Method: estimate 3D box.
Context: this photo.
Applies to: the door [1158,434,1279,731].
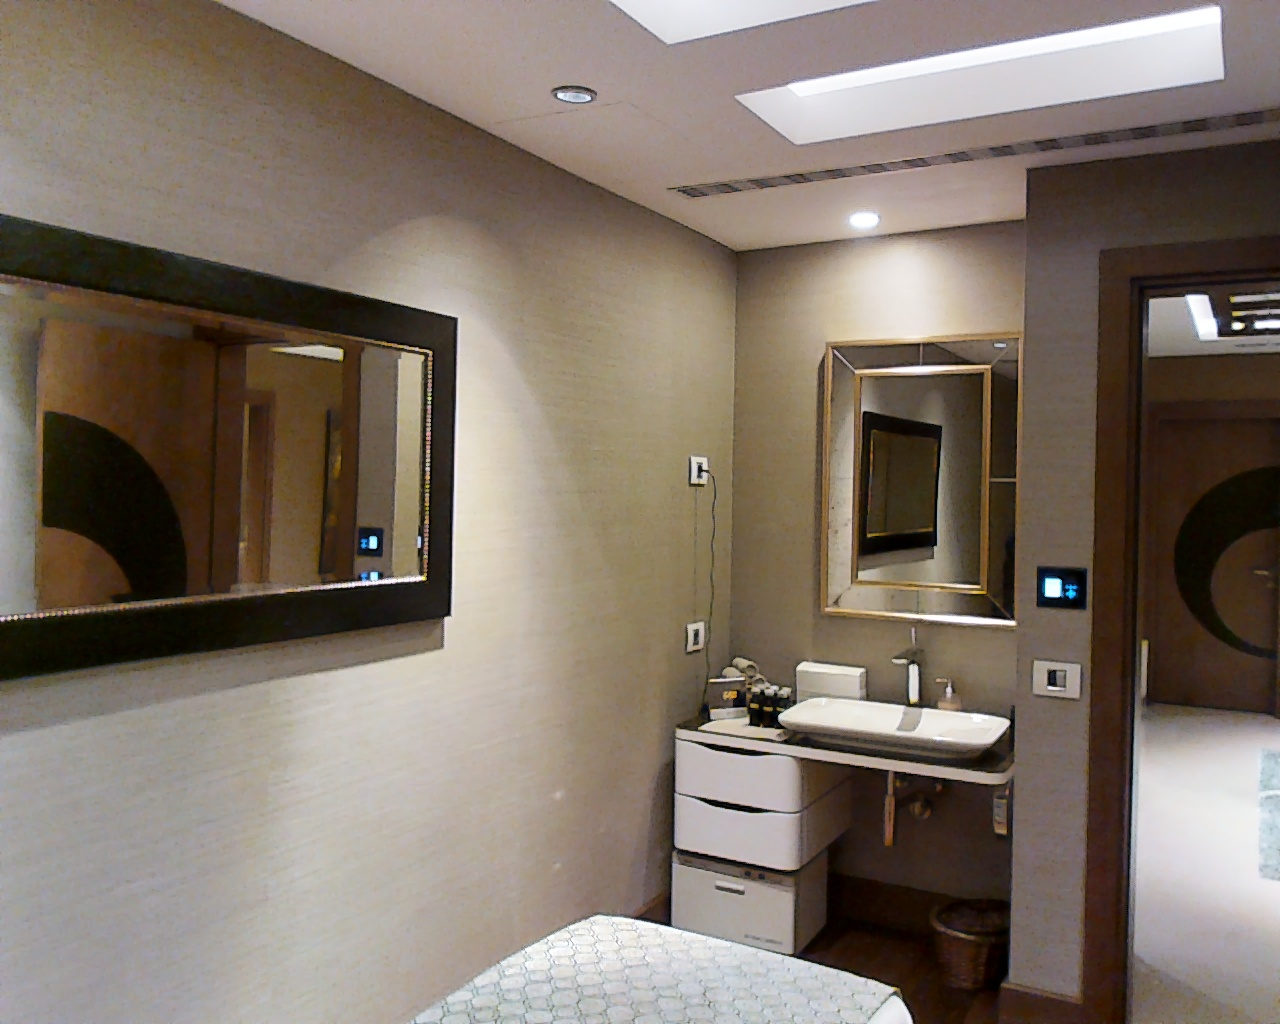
[{"bbox_3d":[4.289,0.500,7.950,0.790,2.130,0.050,1,1,30],"label":"door"}]
